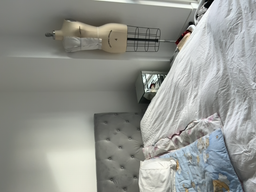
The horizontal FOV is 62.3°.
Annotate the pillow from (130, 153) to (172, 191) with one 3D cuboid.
[{"bbox_3d":[0.220,0.970,1.950,0.530,0.200,0.740,112,153,-57],"label":"pillow"}]

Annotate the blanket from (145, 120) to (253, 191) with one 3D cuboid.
[{"bbox_3d":[0.450,0.820,1.650,1.310,0.140,0.780,112,154,-56],"label":"blanket"}]
